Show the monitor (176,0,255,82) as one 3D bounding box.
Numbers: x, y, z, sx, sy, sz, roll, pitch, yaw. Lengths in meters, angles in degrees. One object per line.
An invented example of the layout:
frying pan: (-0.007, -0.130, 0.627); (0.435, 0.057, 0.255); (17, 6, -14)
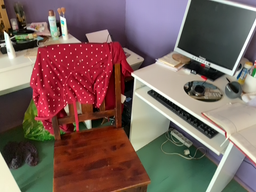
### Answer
monitor: (0.430, -0.300, 1.110); (0.040, 0.370, 0.360); (-35, 49, -30)
